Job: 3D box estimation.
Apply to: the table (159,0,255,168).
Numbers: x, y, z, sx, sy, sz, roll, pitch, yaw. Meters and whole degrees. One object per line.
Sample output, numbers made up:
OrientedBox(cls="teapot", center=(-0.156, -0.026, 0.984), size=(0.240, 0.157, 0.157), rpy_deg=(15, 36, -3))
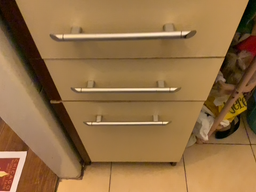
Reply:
OrientedBox(cls="table", center=(0.300, -0.170, 0.790), size=(0.230, 0.860, 0.590), rpy_deg=(0, 53, 1))
